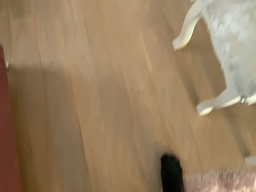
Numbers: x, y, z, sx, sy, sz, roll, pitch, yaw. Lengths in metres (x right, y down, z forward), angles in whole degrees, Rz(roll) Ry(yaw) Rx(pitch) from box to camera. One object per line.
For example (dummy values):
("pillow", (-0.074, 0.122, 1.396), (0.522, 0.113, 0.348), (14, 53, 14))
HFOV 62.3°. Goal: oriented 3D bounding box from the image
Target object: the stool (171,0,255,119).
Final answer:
("stool", (0.380, -0.160, 0.790), (0.240, 0.460, 0.400), (-11, 79, -4))
